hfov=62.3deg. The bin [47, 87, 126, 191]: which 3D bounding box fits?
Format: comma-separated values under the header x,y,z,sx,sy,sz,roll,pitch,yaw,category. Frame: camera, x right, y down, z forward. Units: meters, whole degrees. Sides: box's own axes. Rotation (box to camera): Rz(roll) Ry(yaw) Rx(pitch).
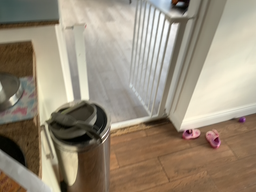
x,y,z,sx,sy,sz,roll,pitch,yaw,category
-0.240,0.330,1.260,0.340,0.680,0.330,-7,44,-14,bin
